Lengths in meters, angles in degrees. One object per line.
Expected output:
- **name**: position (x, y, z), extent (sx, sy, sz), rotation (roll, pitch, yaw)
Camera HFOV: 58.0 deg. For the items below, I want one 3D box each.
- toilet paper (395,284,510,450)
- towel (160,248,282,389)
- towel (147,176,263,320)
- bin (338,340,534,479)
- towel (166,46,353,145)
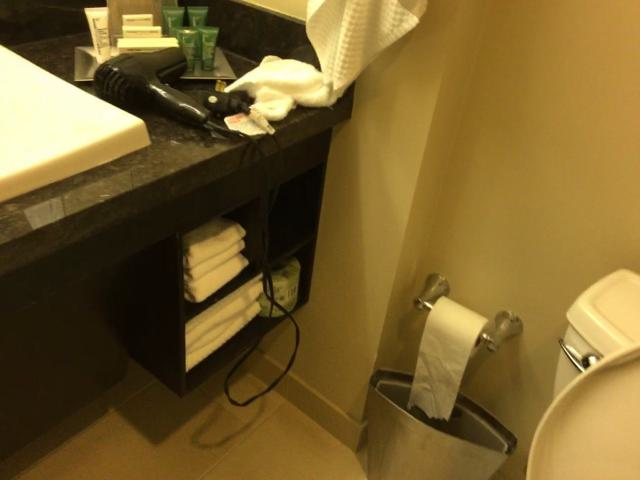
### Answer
- **toilet paper**: position (0.280, 0.280, 1.260), extent (0.140, 0.330, 0.110), rotation (28, 39, 28)
- **towel**: position (-0.190, 0.150, 1.150), extent (0.060, 0.170, 0.260), rotation (28, 39, 28)
- **towel**: position (-0.200, 0.010, 1.030), extent (0.080, 0.180, 0.190), rotation (28, 39, 28)
- **bin**: position (0.250, 0.480, 1.330), extent (0.330, 0.330, 0.190), rotation (28, 39, 28)
- **towel**: position (-0.100, -0.260, 1.000), extent (0.200, 0.060, 0.250), rotation (28, 39, 28)
